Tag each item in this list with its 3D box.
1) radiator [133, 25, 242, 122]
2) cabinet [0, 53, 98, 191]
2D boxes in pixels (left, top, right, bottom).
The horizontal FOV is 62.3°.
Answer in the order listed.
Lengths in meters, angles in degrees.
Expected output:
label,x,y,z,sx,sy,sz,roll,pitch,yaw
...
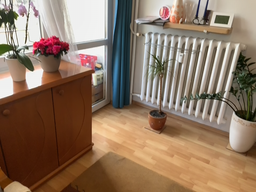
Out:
label,x,y,z,sx,sy,sz,roll,pitch,yaw
radiator,0.600,-0.300,2.490,1.100,0.880,0.190,20,29,29
cabinet,-0.890,0.300,1.410,0.380,0.850,1.620,20,29,29
